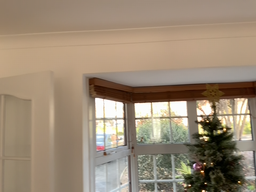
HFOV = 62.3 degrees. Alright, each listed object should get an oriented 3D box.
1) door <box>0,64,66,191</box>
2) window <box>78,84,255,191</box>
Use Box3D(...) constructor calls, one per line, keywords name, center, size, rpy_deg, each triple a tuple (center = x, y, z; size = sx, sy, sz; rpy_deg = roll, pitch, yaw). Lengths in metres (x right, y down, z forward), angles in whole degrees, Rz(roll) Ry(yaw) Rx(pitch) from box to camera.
Box3D(name="door", center=(-0.720, 0.860, 1.300), size=(0.760, 2.040, 0.090), rpy_deg=(-4, -6, 21))
Box3D(name="window", center=(0.820, 0.630, 2.160), size=(2.380, 1.340, 1.000), rpy_deg=(-3, -6, 5))
